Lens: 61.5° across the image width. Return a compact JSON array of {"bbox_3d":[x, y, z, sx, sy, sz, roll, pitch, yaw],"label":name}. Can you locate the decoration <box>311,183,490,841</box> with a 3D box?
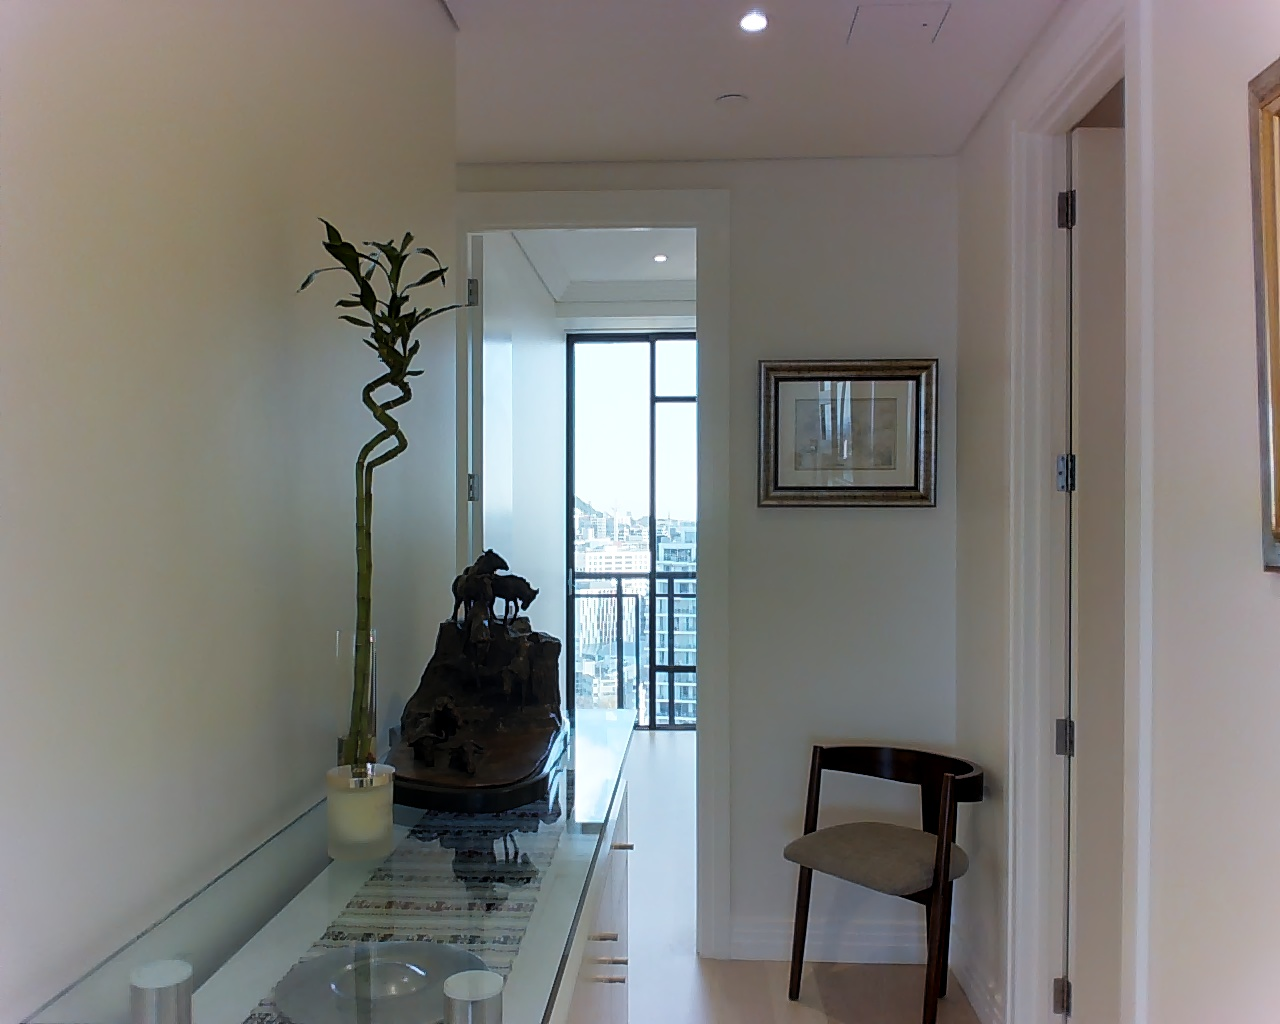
[{"bbox_3d":[-0.320,0.000,1.420,0.140,0.790,0.220,0,1,-41],"label":"decoration"}]

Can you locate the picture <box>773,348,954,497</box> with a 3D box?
[{"bbox_3d":[0.700,-0.280,3.390,0.550,0.460,0.070,0,1,3],"label":"picture"}]

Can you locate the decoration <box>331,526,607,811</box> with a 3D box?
[{"bbox_3d":[-0.250,0.220,1.880,0.310,0.370,0.800,0,1,3],"label":"decoration"}]

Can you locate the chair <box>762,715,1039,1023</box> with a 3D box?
[{"bbox_3d":[0.720,1.000,3.020,0.490,0.710,0.570,0,1,-36],"label":"chair"}]
